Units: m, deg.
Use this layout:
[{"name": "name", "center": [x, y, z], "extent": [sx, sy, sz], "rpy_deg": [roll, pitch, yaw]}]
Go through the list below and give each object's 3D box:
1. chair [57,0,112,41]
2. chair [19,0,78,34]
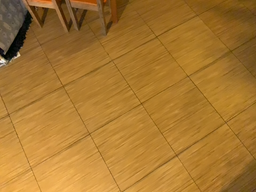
[{"name": "chair", "center": [-0.290, -0.680, 1.430], "extent": [0.270, 0.560, 0.270], "rpy_deg": [12, 69, 4]}, {"name": "chair", "center": [-0.570, -0.740, 1.460], "extent": [0.270, 0.560, 0.270], "rpy_deg": [12, 69, 4]}]
